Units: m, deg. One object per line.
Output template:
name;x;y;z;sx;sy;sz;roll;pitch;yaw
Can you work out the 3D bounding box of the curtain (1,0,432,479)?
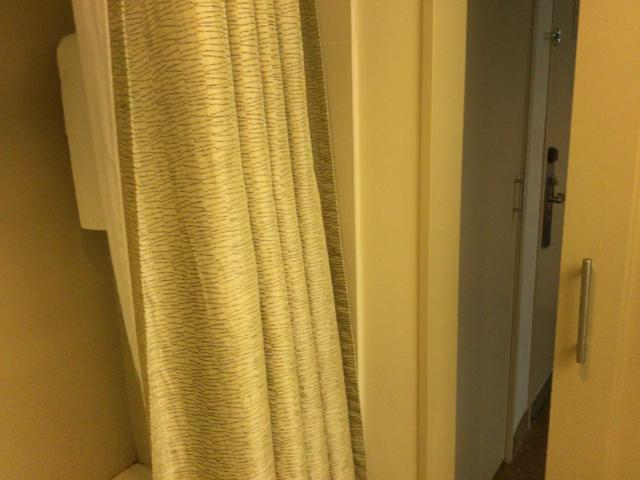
curtain;-0.060;0.190;0.930;0.250;2.040;0.560;7;19;35
